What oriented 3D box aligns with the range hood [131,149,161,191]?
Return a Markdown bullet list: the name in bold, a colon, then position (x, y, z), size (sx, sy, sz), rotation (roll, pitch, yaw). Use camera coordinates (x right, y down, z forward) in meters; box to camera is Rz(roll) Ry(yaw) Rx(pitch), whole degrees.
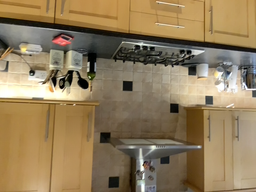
- **range hood**: position (0.160, 0.750, 1.930), size (0.220, 0.500, 0.180), rotation (3, 176, -15)
